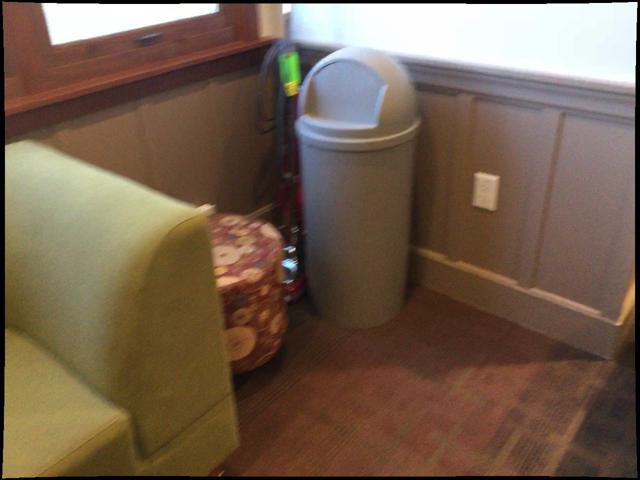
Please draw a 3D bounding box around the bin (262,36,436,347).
[{"bbox_3d":[0.110,-0.160,1.960,0.370,0.922,0.370,22,39,35],"label":"bin"}]
